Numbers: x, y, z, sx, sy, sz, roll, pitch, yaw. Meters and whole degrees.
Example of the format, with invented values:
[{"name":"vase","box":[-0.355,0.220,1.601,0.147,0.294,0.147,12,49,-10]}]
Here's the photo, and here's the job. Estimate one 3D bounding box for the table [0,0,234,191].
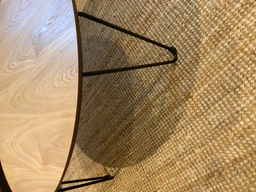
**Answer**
[{"name":"table","box":[-0.260,-0.050,0.810,0.810,0.360,0.800,-49,58,35]}]
